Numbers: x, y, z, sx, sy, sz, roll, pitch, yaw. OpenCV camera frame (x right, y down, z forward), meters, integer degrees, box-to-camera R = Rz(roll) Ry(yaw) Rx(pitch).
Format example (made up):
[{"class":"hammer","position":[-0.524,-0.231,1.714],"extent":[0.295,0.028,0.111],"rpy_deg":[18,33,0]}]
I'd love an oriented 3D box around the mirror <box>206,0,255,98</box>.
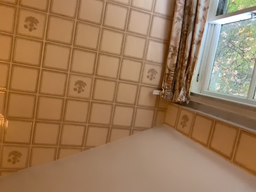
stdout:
[{"class":"mirror","position":[0.700,-0.390,1.120],"extent":[0.060,0.790,0.520],"rpy_deg":[6,-173,-25]}]
